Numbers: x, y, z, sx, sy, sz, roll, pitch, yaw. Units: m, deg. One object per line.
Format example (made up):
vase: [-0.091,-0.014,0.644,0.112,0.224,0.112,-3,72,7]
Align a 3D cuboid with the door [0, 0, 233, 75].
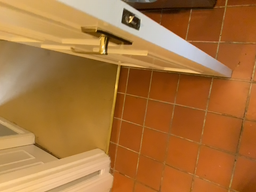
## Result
door: [-0.290,-0.190,0.570,0.740,1.950,0.050,10,96,35]
